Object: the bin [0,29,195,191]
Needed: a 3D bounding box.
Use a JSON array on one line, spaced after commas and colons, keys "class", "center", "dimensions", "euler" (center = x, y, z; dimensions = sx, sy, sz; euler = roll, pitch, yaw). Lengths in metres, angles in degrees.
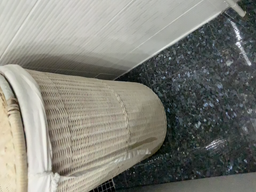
[{"class": "bin", "center": [-0.180, 0.130, 0.750], "dimensions": [0.480, 0.610, 0.400], "euler": [-28, 73, 39]}]
